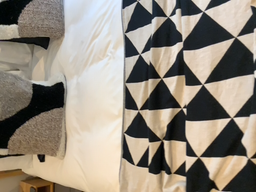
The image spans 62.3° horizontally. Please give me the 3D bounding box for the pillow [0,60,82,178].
[{"bbox_3d":[-0.540,0.100,1.110,0.210,0.390,0.470,-17,97,43],"label":"pillow"}]
